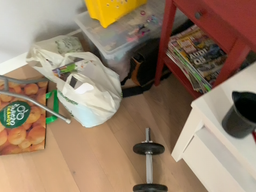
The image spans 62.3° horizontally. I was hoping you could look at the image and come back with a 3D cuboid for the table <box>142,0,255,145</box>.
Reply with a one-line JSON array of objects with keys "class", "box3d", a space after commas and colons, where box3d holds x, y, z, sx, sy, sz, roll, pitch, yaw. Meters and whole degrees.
[{"class": "table", "box3d": [0.370, -0.190, 0.960, 0.390, 0.710, 0.470, -28, 62, -15]}]
